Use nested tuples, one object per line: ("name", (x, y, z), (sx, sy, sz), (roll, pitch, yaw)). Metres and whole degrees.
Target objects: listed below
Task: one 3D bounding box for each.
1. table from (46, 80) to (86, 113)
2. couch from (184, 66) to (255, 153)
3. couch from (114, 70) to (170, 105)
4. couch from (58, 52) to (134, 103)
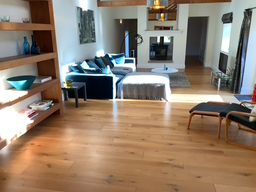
("table", (-1.350, -0.010, 4.710), (0.590, 0.540, 0.660), (3, 17, 9))
("couch", (1.630, 0.140, 3.160), (1.300, 0.970, 0.710), (13, 22, 36))
("couch", (0.430, -0.280, 5.600), (1.280, 0.530, 1.420), (3, 17, 9))
("couch", (-0.700, -0.760, 6.620), (1.310, 0.830, 3.480), (3, 17, 9))
